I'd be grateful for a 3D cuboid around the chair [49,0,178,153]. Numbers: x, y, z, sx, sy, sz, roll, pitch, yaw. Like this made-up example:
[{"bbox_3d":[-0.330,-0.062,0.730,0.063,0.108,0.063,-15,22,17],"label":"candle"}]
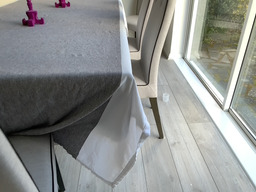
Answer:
[{"bbox_3d":[-0.090,-0.210,1.390,0.590,1.020,0.490,-5,32,-8],"label":"chair"}]
